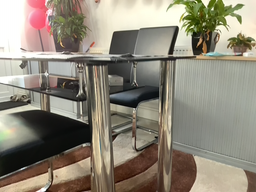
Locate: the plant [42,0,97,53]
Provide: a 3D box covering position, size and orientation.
[{"bbox_3d":[-0.710,-1.060,2.600,0.420,1.030,0.470,9,15,36],"label":"plant"}]

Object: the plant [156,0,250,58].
[{"bbox_3d":[0.540,-0.530,1.520,0.510,0.490,0.430,9,15,34],"label":"plant"}]
